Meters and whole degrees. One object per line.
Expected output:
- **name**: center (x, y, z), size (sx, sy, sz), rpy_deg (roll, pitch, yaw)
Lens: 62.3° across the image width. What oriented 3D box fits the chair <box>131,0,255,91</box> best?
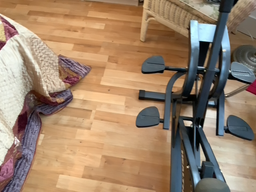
- **chair**: center (0.490, -0.650, 1.290), size (0.680, 0.880, 0.610), rpy_deg (39, 65, 20)
